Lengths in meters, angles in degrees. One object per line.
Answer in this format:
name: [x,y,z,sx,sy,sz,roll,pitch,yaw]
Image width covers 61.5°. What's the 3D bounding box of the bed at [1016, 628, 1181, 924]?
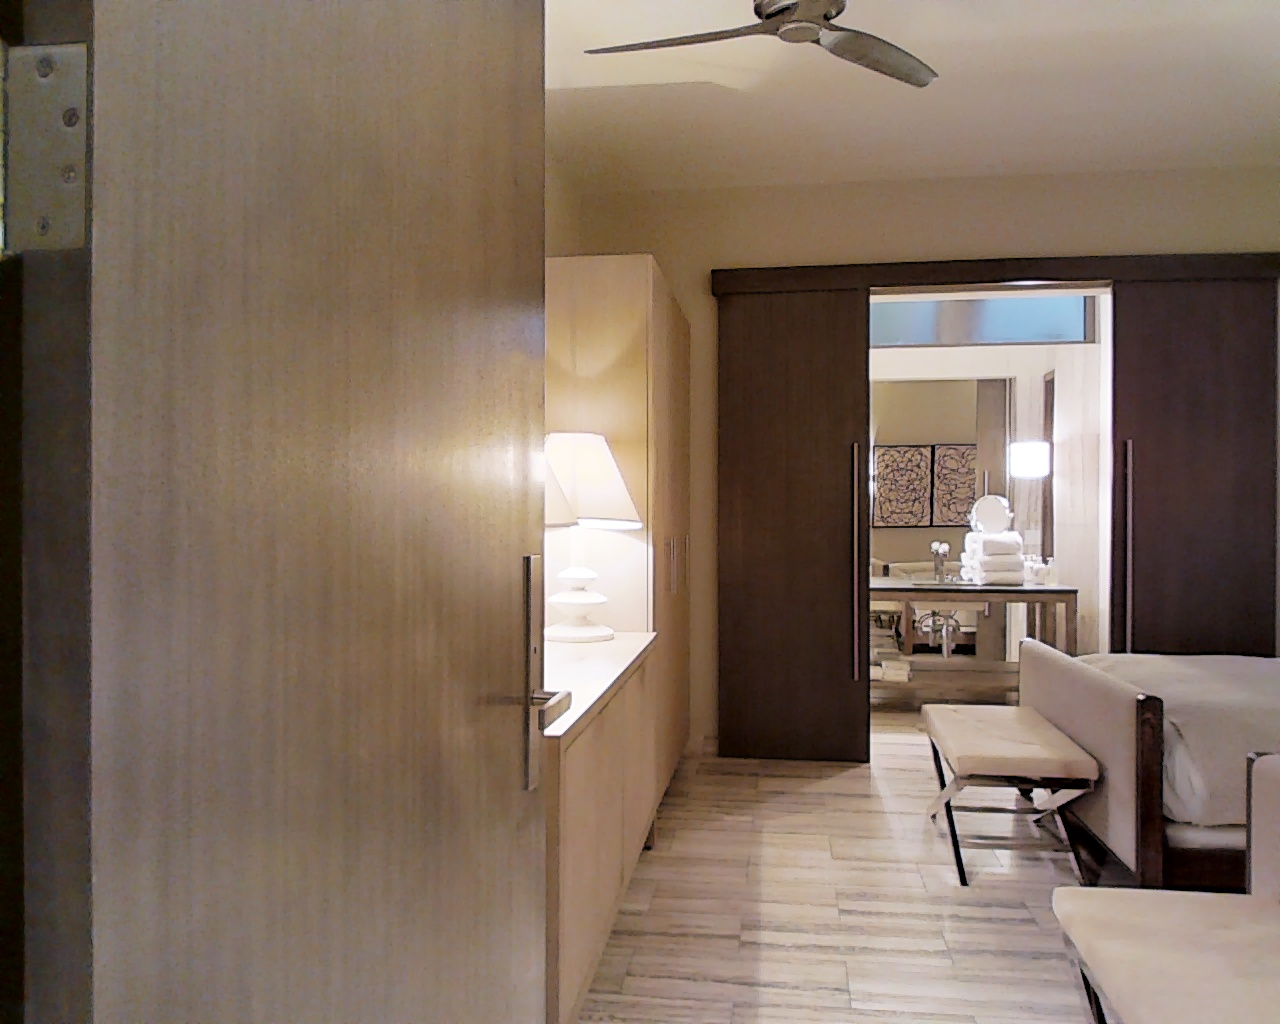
bed: [1.720,0.910,4.190,0.140,0.730,1.710,0,0,8]
